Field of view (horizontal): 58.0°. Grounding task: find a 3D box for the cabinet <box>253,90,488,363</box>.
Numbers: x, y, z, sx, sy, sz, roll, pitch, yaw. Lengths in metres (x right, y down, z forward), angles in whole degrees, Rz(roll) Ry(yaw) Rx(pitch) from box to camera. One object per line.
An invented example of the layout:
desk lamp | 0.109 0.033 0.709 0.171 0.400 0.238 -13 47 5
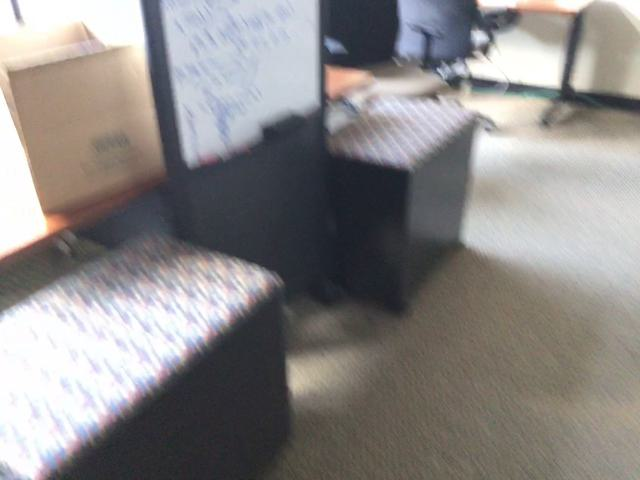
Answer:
cabinet | 0.210 -0.100 2.020 0.450 0.610 0.740 16 36 30

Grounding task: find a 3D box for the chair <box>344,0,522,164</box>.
chair | 0.600 -1.050 3.070 0.700 1.020 0.630 16 36 31

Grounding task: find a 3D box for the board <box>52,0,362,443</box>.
board | -0.180 -0.380 1.350 0.160 1.630 0.760 16 36 30
